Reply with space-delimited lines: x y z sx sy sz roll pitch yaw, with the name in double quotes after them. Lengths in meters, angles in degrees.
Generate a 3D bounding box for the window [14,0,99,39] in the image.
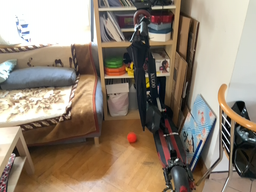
-0.790 -1.380 2.200 0.850 1.470 0.270 -5 31 -6 "window"
